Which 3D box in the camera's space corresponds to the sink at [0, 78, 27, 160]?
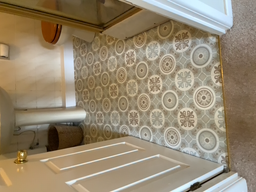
[{"bbox_3d":[-1.080,0.190,1.890,0.390,0.210,0.650,-6,85,48],"label":"sink"}]
